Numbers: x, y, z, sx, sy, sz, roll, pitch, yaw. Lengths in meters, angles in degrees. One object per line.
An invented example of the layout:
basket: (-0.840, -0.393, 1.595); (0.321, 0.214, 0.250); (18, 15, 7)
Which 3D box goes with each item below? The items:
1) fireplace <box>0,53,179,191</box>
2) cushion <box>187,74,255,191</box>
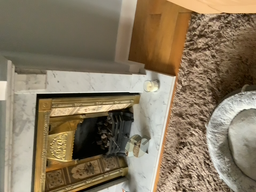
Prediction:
fireplace: (-0.340, 0.400, 1.680); (0.690, 1.120, 1.280); (22, 108, 46)
cushion: (0.740, 0.270, 1.180); (0.720, 0.150, 0.680); (19, 107, 47)
